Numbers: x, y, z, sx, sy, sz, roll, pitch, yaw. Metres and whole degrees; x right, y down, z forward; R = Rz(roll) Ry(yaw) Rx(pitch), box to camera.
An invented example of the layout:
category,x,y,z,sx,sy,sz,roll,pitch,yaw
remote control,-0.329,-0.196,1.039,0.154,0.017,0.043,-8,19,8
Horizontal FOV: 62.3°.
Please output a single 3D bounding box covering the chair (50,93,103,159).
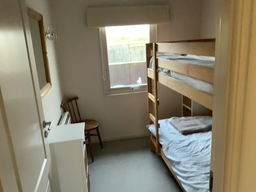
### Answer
category,x,y,z,sx,sy,sz,roll,pitch,yaw
chair,-0.720,0.410,3.110,0.510,0.820,0.510,0,15,12
